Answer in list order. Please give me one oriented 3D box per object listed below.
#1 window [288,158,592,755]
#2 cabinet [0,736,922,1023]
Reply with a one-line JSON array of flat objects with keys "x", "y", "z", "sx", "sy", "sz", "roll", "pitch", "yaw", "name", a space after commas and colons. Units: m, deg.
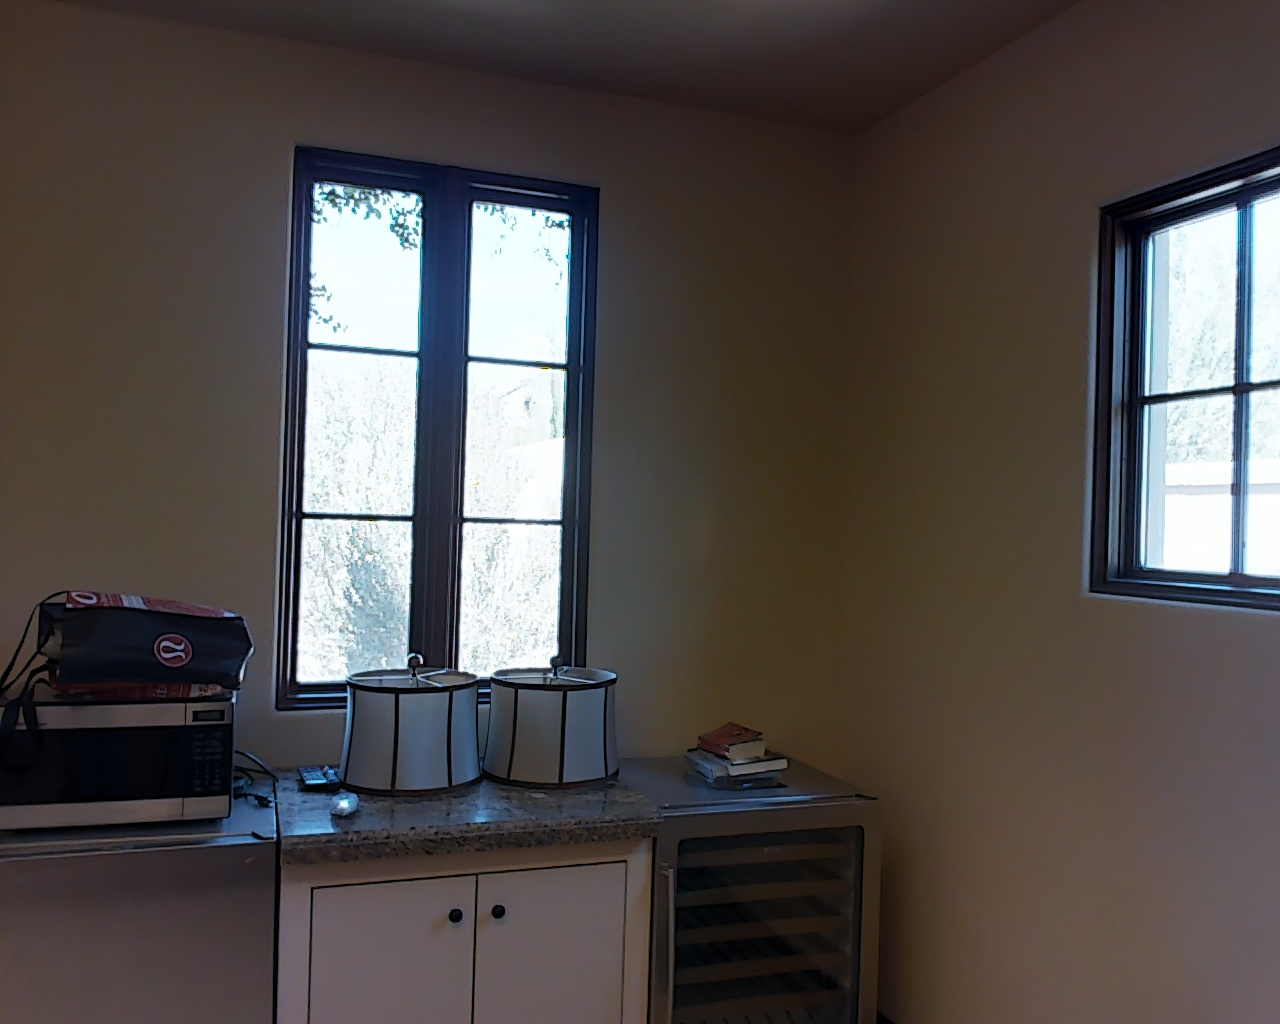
[{"x": -0.530, "y": -0.130, "z": 2.900, "sx": 0.740, "sy": 1.510, "sz": 0.140, "roll": 2, "pitch": -1, "yaw": -21, "name": "window"}, {"x": -0.430, "y": 1.130, "z": 2.570, "sx": 2.110, "sy": 0.980, "sz": 0.680, "roll": 2, "pitch": -1, "yaw": -21, "name": "cabinet"}]
